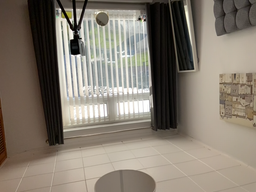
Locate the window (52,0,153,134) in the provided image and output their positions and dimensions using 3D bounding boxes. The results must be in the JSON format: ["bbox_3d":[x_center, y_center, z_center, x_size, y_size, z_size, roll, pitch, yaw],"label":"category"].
[{"bbox_3d":[-0.350,-0.480,3.260,1.370,1.960,0.210,-5,-174,-14],"label":"window"}]

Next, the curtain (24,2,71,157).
[{"bbox_3d":[-1.030,-0.190,2.780,0.370,1.920,0.210,-5,-174,-16],"label":"curtain"}]

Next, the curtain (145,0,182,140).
[{"bbox_3d":[0.540,-0.370,3.210,0.390,1.990,0.260,-5,-174,-14],"label":"curtain"}]
